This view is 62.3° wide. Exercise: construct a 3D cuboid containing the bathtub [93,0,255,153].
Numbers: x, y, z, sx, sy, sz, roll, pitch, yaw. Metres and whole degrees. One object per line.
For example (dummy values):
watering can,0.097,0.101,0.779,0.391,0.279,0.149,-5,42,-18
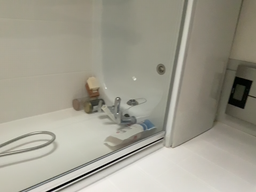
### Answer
bathtub,0.250,-0.660,1.150,0.700,0.530,1.670,23,117,43
